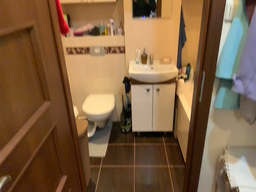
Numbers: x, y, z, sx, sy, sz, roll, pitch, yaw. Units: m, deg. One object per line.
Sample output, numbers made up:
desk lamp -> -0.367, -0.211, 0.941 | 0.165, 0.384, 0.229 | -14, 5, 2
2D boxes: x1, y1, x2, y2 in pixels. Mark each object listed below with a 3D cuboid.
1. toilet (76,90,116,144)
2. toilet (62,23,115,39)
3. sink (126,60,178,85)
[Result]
toilet -> -0.360, 0.240, 2.560 | 0.370, 0.440, 0.490 | -1, 27, 1
toilet -> -0.450, -0.760, 2.460 | 0.580, 0.140, 0.130 | -1, 27, 1
sink -> 0.240, -0.260, 2.300 | 0.520, 0.140, 0.370 | -1, 27, 1
